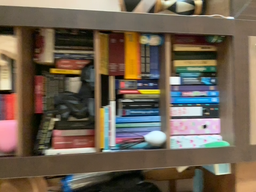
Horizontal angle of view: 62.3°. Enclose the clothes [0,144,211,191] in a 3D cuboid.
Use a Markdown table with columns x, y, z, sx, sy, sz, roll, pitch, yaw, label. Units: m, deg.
| x | y | z | sx | sy | sz | roll | pitch | yaw | label |
| --- | --- | --- | --- | --- | --- | --- | --- | --- | --- |
| -0.120 | 0.930 | 1.370 | 0.220 | 1.250 | 1.140 | -155 | 66 | -79 | clothes |
